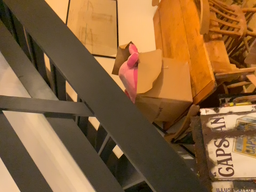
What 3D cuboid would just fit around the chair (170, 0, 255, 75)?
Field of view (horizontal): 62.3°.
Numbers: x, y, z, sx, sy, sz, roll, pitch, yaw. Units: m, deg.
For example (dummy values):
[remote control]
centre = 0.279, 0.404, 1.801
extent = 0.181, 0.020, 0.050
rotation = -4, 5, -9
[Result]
[chair]
centre = 0.910, -0.580, 2.040
extent = 0.570, 0.790, 0.440
rotation = 123, 150, -62
